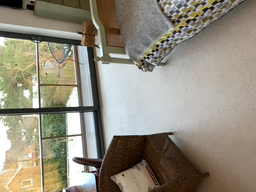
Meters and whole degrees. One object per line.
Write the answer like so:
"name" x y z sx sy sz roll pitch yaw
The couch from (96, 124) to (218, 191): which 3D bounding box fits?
"couch" 0.200 0.750 1.970 0.710 0.710 0.620 52 134 48
